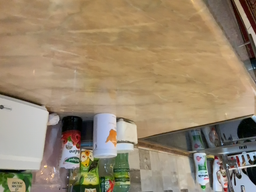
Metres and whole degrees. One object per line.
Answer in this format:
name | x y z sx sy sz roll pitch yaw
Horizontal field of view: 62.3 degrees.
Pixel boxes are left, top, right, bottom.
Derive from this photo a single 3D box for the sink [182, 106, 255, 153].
sink | 0.680 0.260 1.490 0.460 0.180 0.350 -21 151 33
